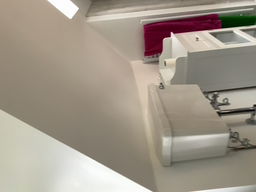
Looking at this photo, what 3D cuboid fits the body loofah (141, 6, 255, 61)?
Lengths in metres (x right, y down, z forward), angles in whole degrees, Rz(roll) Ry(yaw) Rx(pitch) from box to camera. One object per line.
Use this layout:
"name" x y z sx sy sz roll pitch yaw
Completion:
"body loofah" 0.710 -0.580 1.960 0.220 1.140 0.350 -96 1 -57

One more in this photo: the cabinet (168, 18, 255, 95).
"cabinet" 0.950 -0.350 1.670 0.490 1.160 0.380 -96 1 -58
